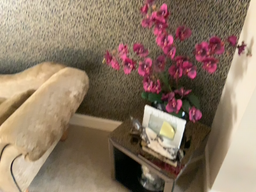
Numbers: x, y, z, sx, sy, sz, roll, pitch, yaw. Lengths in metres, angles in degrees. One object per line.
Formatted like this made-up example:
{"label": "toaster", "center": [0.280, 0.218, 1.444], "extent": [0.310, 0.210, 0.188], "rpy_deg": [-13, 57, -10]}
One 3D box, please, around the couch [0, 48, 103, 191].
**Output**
{"label": "couch", "center": [-1.100, 0.140, 1.570], "extent": [1.610, 0.710, 0.790], "rpy_deg": [9, 37, 11]}
